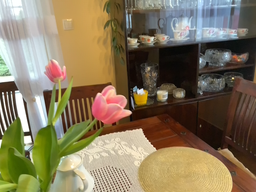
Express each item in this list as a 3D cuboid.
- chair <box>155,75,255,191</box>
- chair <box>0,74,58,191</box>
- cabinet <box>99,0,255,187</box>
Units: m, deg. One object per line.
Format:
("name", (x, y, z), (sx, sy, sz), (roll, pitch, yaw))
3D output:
("chair", (0.520, 0.440, 1.320), (0.540, 0.990, 0.480), (-10, 22, -15))
("chair", (-0.870, 0.410, 1.620), (0.490, 1.000, 0.530), (-10, 22, -18))
("cabinet", (0.510, -0.190, 1.960), (1.350, 1.720, 0.470), (-9, 21, -17))
